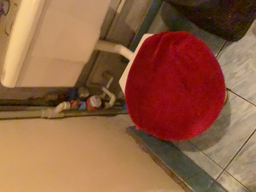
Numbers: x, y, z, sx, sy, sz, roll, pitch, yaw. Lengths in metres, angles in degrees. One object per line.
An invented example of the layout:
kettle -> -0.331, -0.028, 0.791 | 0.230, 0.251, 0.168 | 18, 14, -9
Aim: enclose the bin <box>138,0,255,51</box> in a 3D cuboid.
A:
bin -> 0.330, -0.480, 0.990 | 0.440, 0.440, 0.290 | 40, 112, 33
